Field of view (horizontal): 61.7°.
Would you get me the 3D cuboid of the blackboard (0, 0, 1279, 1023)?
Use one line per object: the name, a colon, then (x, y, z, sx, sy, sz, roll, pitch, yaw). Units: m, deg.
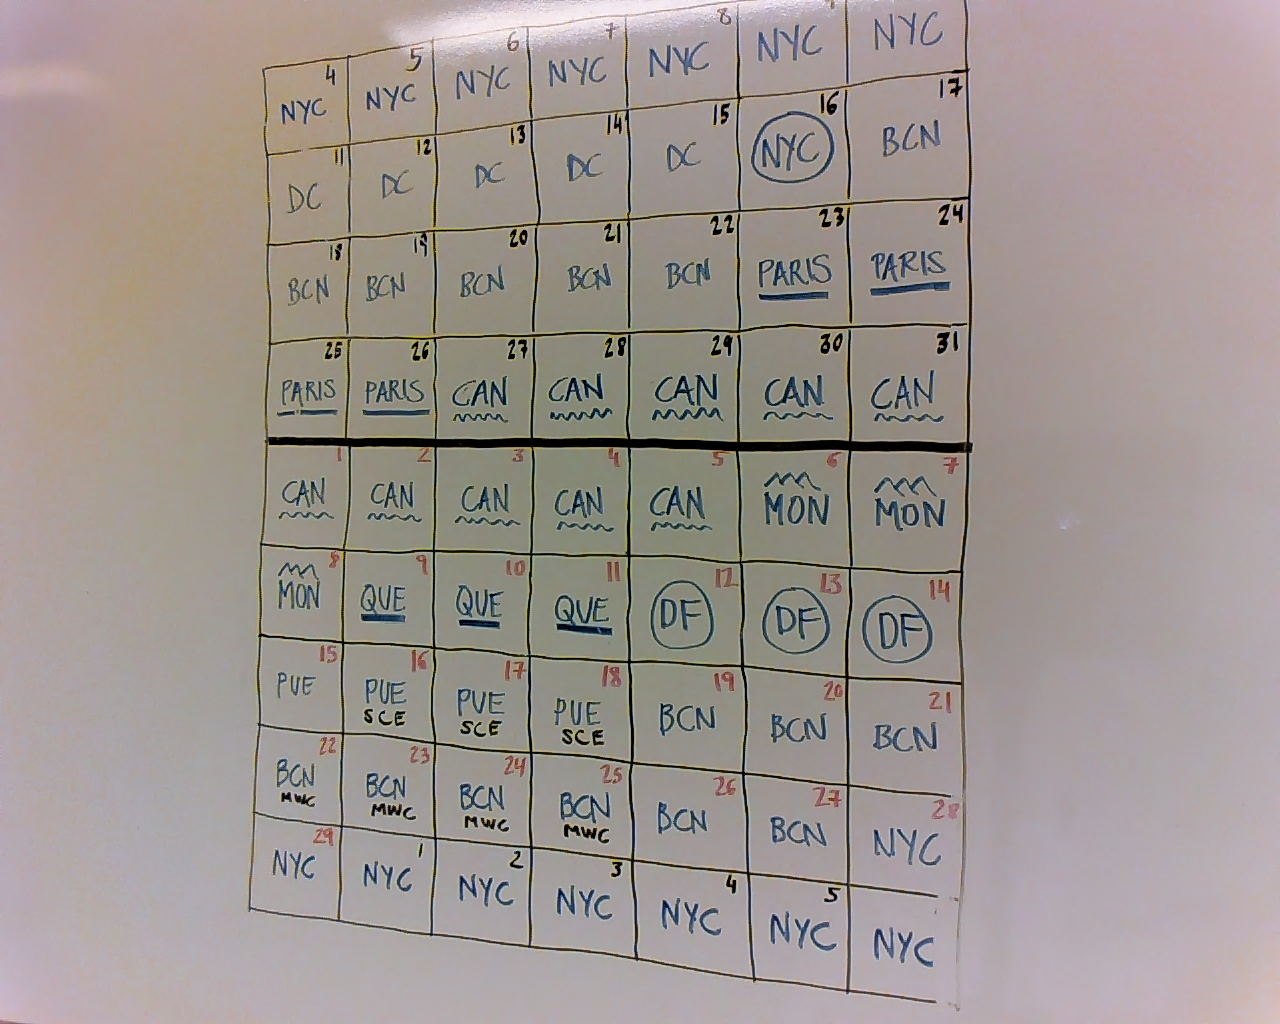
blackboard: (-0.200, -0.060, 0.680, 1.260, 0.980, 0.030, 1, -1, 17)
